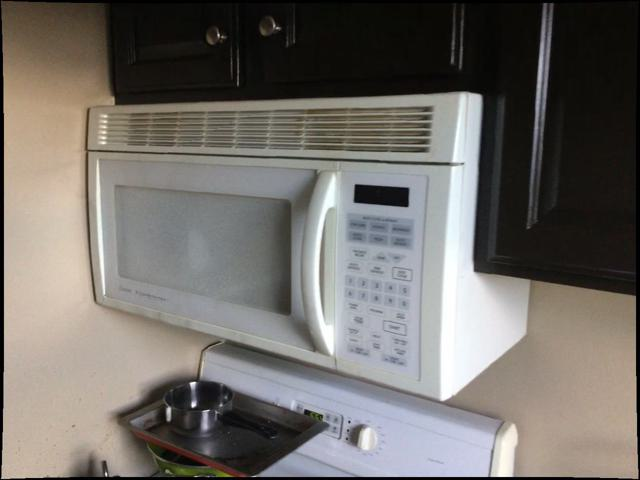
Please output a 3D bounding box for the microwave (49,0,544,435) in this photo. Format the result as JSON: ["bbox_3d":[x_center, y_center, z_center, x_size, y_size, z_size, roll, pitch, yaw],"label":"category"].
[{"bbox_3d":[-0.050,-0.060,1.060,0.779,0.521,0.430,2,8,34],"label":"microwave"}]
